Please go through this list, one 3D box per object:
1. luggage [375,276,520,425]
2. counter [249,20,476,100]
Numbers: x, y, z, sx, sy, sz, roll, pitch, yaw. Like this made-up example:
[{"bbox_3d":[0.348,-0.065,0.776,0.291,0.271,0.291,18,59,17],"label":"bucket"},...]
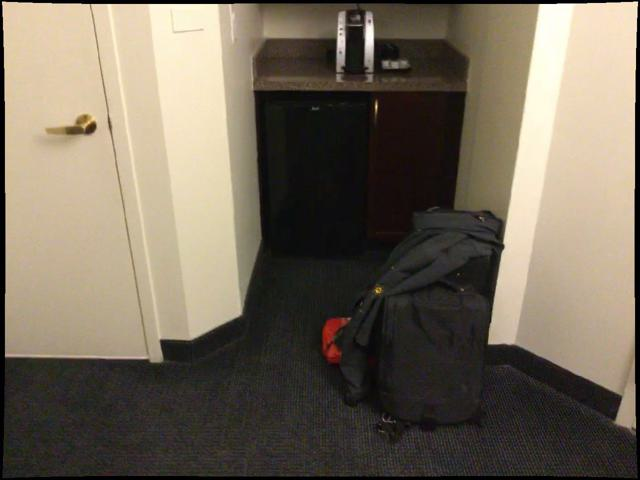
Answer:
[{"bbox_3d":[0.400,0.370,1.940,0.390,0.420,0.260,0,29,0],"label":"luggage"},{"bbox_3d":[0.180,-0.891,2.810,0.969,0.240,0.650,0,29,0],"label":"counter"}]
